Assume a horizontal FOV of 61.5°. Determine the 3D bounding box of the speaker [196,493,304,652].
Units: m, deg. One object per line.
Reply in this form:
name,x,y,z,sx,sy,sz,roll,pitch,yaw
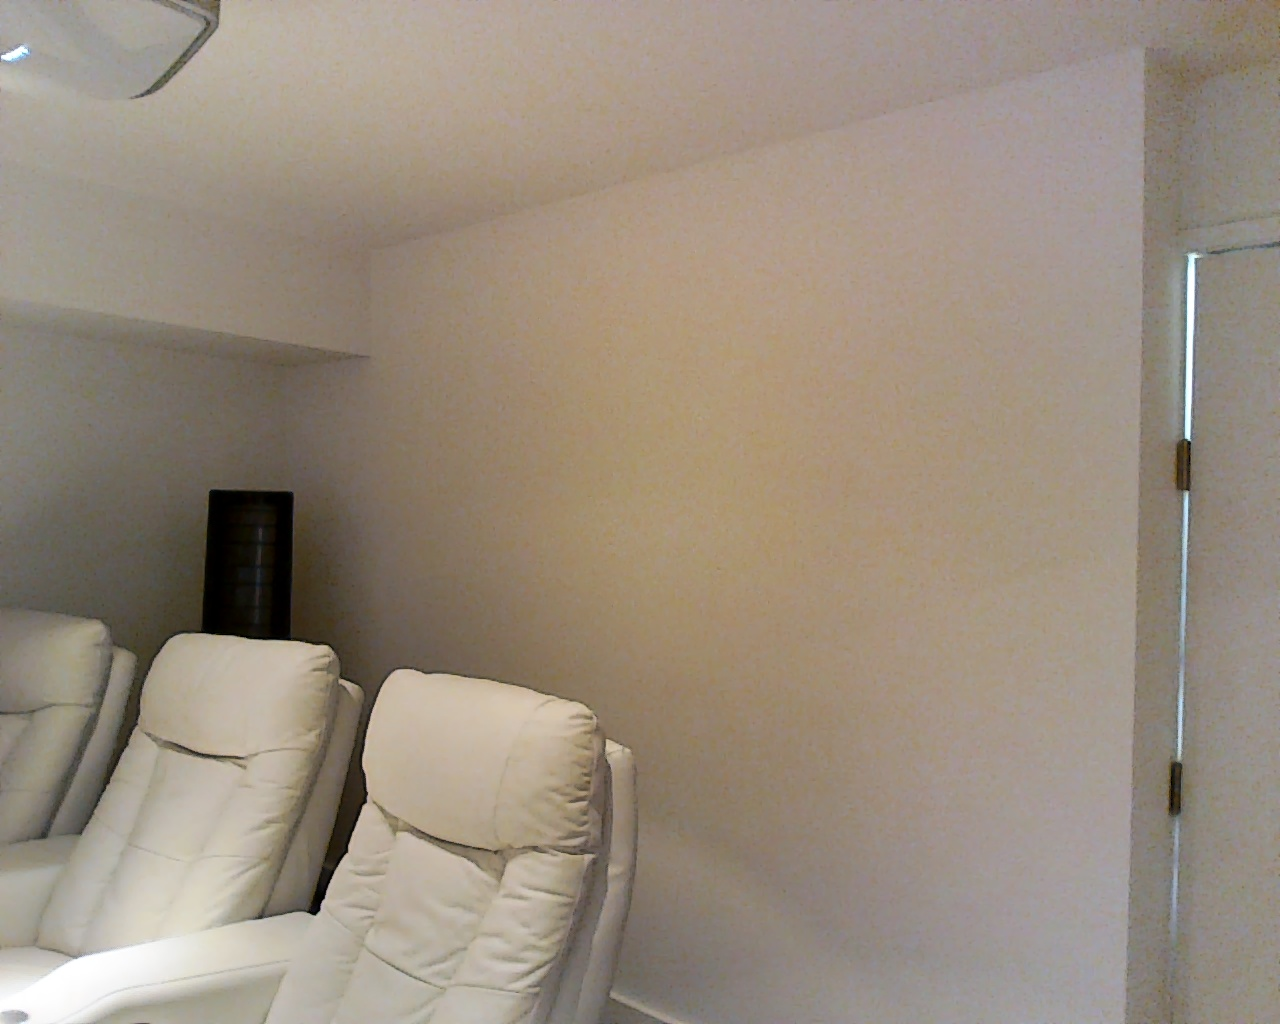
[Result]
speaker,-1.310,0.200,3.620,0.310,0.520,0.120,1,-1,2
